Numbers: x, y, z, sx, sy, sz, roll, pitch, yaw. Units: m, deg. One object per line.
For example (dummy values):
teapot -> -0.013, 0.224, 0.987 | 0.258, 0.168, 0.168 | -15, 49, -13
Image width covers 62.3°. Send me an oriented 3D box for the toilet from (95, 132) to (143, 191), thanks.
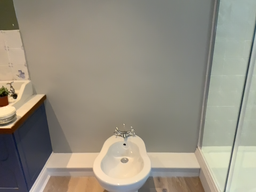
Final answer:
toilet -> -0.050, 0.620, 1.660 | 0.290, 0.390, 0.620 | -1, 22, 1
